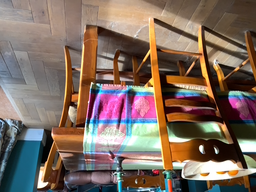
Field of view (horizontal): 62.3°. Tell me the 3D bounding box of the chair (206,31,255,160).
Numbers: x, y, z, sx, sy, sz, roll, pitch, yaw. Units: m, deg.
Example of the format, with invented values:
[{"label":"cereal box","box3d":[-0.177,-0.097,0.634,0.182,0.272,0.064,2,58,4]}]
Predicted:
[{"label":"chair","box3d":[0.970,0.010,1.560,0.440,0.820,0.430,4,152,-12]}]
